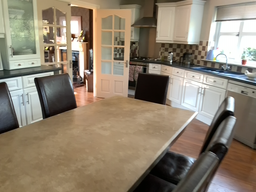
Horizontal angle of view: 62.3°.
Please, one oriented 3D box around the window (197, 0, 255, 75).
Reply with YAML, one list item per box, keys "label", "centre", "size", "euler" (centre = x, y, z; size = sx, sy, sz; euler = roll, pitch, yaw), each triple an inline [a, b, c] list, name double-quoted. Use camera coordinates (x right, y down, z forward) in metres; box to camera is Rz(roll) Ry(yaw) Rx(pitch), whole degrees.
- label: "window"
  centre: [2.040, -0.980, 3.500]
  size: [0.210, 1.170, 2.000]
  euler: [-6, 18, -27]
